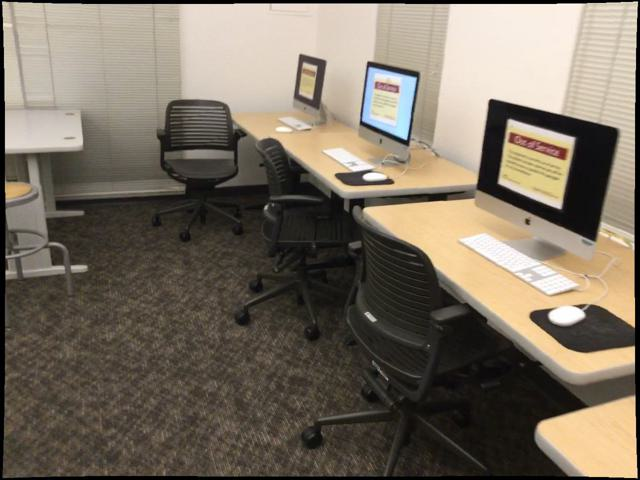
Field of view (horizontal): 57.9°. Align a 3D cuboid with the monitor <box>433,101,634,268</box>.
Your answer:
[{"bbox_3d":[0.649,-0.210,1.880,0.260,0.380,0.540,-6,25,-22],"label":"monitor"}]

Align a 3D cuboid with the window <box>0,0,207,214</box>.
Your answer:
[{"bbox_3d":[-1.908,-1.061,3.630,2.258,1.691,0.510,-6,25,-22],"label":"window"}]
